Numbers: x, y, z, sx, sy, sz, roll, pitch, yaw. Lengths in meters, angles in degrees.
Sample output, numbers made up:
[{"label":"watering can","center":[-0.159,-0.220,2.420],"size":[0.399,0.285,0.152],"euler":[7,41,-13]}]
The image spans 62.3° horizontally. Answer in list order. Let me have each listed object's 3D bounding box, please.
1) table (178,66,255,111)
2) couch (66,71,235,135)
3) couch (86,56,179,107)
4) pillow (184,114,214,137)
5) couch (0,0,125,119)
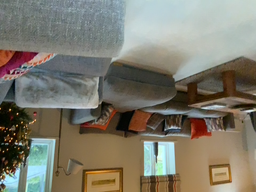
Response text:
[{"label":"table","center":[1.560,-0.060,3.360],"size":[1.230,0.380,0.830],"euler":[7,166,-28]},{"label":"couch","center":[0.540,0.320,4.210],"size":[3.160,0.770,1.230],"euler":[8,166,-29]},{"label":"couch","center":[0.070,-0.140,2.960],"size":[1.130,0.420,0.610],"euler":[7,166,-28]},{"label":"pillow","center":[1.600,0.660,4.780],"size":[0.450,0.390,0.350],"euler":[-13,177,-32]},{"label":"couch","center":[-0.670,-0.320,1.410],"size":[1.070,0.780,1.270],"euler":[3,167,-12]}]
